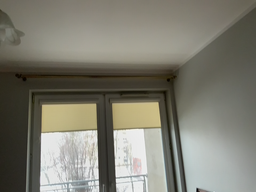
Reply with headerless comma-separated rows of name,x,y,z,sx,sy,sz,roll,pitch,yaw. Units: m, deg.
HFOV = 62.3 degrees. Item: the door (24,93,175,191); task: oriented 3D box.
door,-0.290,1.140,2.600,1.790,2.360,0.140,-1,-13,-14
